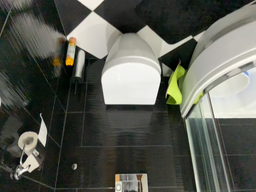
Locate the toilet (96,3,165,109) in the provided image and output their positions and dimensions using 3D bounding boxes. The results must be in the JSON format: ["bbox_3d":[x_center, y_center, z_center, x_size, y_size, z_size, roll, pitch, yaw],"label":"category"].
[{"bbox_3d":[0.010,-0.240,1.420,0.350,0.470,0.520,0,151,-1],"label":"toilet"}]
